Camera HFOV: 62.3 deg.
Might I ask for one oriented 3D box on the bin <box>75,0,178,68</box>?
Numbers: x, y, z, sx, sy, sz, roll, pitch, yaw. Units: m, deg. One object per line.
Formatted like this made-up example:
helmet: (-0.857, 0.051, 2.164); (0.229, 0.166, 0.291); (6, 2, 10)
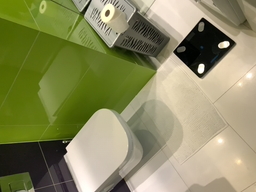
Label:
bin: (0.010, -0.470, 1.460); (0.270, 0.580, 0.380); (-46, 60, 25)
